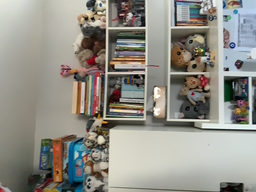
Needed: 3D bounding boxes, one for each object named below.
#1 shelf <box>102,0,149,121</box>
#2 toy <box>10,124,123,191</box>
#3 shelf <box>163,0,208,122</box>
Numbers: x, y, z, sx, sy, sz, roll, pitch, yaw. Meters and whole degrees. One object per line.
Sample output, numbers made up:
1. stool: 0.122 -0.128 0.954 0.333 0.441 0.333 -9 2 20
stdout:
1. shelf: -0.010 -0.310 1.590 0.200 0.310 0.970 50 -139 -85
2. toy: -0.370 0.530 1.440 0.420 0.620 0.640 60 -149 -83
3. shelf: 0.420 -0.310 1.570 0.190 0.280 0.980 50 -139 -85
